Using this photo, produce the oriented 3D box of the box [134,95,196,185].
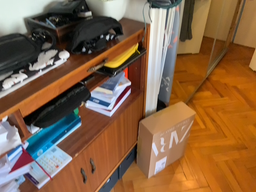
[{"bbox_3d":[0.250,0.320,1.540,0.220,0.500,0.360,31,48,33],"label":"box"}]
